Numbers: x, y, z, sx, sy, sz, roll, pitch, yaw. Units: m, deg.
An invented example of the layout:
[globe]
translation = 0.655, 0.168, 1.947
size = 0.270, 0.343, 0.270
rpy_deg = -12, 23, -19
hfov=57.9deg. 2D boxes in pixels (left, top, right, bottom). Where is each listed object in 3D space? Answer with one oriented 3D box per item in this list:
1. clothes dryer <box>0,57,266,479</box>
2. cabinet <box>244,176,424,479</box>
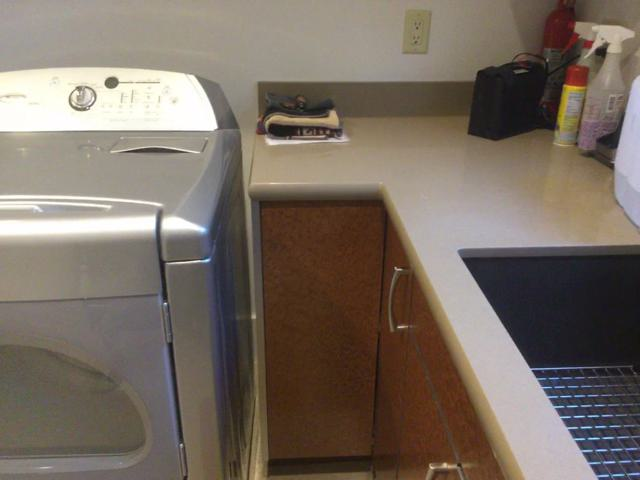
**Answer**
[clothes dryer]
translation = -0.520, 0.170, 1.380
size = 0.750, 1.070, 0.700
rpy_deg = -1, 25, -4
[cabinet]
translation = 0.020, 0.250, 1.440
size = 0.380, 0.820, 0.110
rpy_deg = -1, 25, -4
